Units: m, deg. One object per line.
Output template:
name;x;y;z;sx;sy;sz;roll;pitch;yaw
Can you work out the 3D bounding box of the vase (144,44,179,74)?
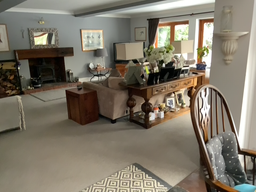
vase;0.610;-0.700;3.890;0.440;0.490;0.460;-14;19;-37
